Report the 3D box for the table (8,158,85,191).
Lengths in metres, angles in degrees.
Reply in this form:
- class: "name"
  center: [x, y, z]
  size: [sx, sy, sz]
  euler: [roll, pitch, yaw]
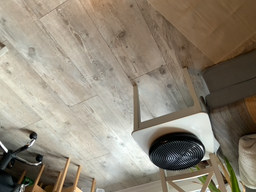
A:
- class: "table"
  center: [-0.830, 1.010, 2.120]
  size: [0.560, 0.470, 0.450]
  euler: [-20, 124, 17]
